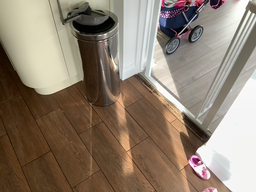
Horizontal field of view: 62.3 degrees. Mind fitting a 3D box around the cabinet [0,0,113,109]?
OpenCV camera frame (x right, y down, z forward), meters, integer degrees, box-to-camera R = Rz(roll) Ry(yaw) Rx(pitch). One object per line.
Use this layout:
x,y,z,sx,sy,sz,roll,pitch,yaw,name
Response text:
-0.510,-0.440,1.520,0.740,0.890,0.300,-28,57,-23,cabinet
